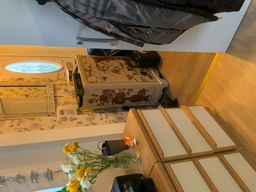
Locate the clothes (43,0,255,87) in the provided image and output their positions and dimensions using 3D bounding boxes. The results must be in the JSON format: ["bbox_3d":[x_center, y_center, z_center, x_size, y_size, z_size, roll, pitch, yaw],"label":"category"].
[{"bbox_3d":[0.190,-0.490,0.890,0.430,1.010,0.790,-115,31,-43],"label":"clothes"}]

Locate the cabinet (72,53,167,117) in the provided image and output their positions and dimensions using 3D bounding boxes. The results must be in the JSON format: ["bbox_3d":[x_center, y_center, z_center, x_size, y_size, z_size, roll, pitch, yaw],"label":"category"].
[{"bbox_3d":[-0.130,-0.150,2.430,0.600,0.890,0.420,-117,33,-46],"label":"cabinet"}]
